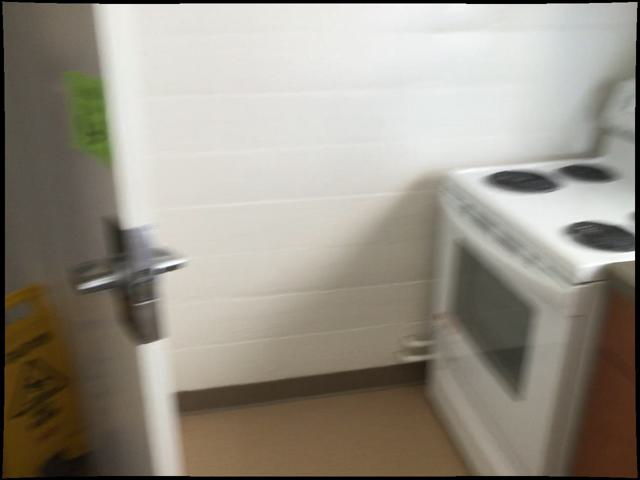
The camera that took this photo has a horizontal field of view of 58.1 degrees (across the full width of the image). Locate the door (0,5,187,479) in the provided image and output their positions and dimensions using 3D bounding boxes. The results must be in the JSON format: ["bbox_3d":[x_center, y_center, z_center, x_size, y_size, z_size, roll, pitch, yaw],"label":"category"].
[{"bbox_3d":[-0.559,0.221,1.420,0.120,1.463,0.680,-18,27,-33],"label":"door"}]
